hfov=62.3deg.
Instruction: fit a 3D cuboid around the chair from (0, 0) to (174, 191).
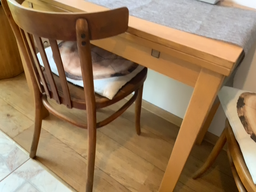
[{"bbox_3d":[-0.170,-0.040,0.900,0.420,0.770,0.470,26,44,22],"label":"chair"}]
